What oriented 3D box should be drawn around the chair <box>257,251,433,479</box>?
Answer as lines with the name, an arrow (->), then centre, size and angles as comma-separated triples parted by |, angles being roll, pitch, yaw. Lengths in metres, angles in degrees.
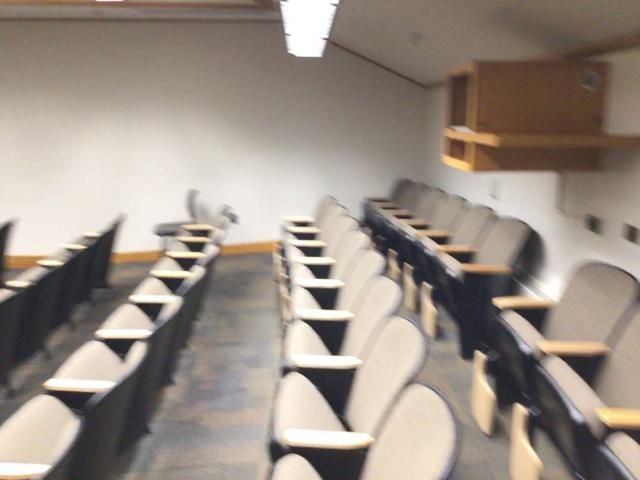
chair -> 0.070, 0.540, 2.460 | 0.580, 0.830, 0.490 | 6, 14, -5

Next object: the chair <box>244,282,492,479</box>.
chair -> 0.090, 0.690, 2.030 | 0.600, 0.810, 0.660 | 12, 14, -6

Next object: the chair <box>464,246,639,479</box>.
chair -> 0.990, 0.490, 2.390 | 0.540, 0.790, 0.530 | 3, 14, -4

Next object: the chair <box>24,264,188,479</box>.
chair -> -0.920, 0.590, 2.570 | 0.550, 0.790, 0.560 | 5, 14, -8

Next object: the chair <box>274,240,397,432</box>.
chair -> 0.050, 0.460, 2.860 | 0.500, 0.800, 0.450 | 3, 14, -4

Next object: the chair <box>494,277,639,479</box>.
chair -> 1.010, 0.610, 1.940 | 0.550, 0.810, 0.560 | 3, 14, -4
